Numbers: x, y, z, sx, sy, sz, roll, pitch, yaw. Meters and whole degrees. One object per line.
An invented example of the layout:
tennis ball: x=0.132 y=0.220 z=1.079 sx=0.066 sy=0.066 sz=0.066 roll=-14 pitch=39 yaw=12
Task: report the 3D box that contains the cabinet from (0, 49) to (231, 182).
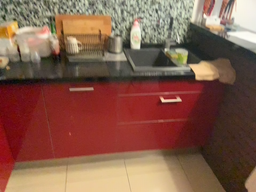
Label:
cabinet: x=-0.120 y=0.110 z=1.890 sx=1.630 sy=0.870 sz=0.630 roll=-3 pitch=30 yaw=-11
